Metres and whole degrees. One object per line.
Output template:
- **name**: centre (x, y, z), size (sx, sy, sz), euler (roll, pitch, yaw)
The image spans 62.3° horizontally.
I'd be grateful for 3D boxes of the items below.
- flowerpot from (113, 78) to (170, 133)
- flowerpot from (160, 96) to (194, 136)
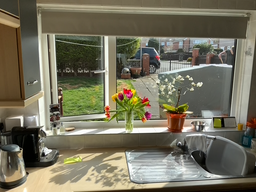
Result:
- **flowerpot**: centre (0.100, 0.070, 1.850), size (0.450, 0.420, 0.280), euler (-1, 10, -5)
- **flowerpot**: centre (0.430, 0.170, 1.920), size (0.210, 0.280, 0.300), euler (-1, 10, -6)
